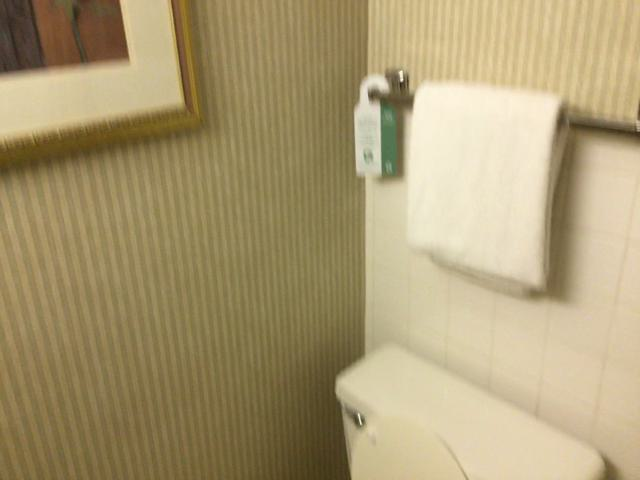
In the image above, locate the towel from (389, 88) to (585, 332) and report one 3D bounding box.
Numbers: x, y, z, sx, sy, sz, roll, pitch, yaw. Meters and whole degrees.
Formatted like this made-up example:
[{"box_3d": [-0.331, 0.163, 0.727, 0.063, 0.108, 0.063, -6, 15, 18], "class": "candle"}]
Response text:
[{"box_3d": [0.280, -0.070, 1.030, 0.130, 0.370, 0.290, -22, 27, -40], "class": "towel"}]
